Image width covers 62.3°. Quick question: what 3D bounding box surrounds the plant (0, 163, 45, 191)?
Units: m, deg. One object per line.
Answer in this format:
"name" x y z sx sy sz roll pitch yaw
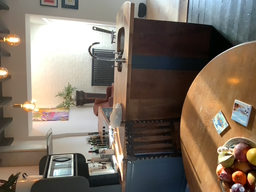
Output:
"plant" -1.210 0.940 2.270 0.400 0.550 0.210 -140 52 -70
